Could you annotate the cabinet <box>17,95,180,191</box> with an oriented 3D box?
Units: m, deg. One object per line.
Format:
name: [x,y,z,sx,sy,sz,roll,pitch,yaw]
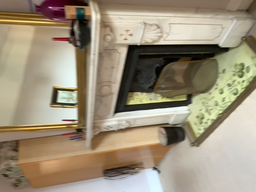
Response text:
cabinet: [-0.440,0.720,3.250,1.160,1.990,0.750,105,154,-51]

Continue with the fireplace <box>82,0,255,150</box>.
fireplace: [0.220,-0.150,2.060,1.730,1.250,0.480,106,153,-51]
